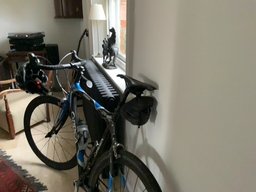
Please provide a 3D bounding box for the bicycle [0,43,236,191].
[{"bbox_3d":[-0.410,0.320,1.490,0.590,1.080,1.920,-12,25,-29],"label":"bicycle"}]

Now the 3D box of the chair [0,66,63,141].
[{"bbox_3d":[-1.250,0.040,2.560,0.530,0.630,0.640,16,27,35],"label":"chair"}]
